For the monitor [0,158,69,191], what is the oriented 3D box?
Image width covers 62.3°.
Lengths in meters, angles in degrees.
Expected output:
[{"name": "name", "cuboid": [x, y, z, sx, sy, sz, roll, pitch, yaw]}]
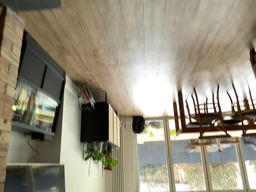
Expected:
[{"name": "monitor", "cuboid": [-0.820, 0.960, 1.990, 0.070, 0.630, 1.140, -5, 168, 7]}]

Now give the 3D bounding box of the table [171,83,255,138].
[{"name": "table", "cuboid": [1.670, 0.310, 4.030, 1.550, 0.780, 0.870, -4, 163, 5]}]

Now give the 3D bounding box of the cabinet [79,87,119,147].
[{"name": "cabinet", "cuboid": [-0.520, 0.500, 4.210, 0.450, 0.870, 1.500, -4, 163, 4]}]

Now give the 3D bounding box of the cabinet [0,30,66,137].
[{"name": "cabinet", "cuboid": [-1.070, -0.050, 2.320, 0.400, 0.860, 0.980, -4, 163, 4]}]
